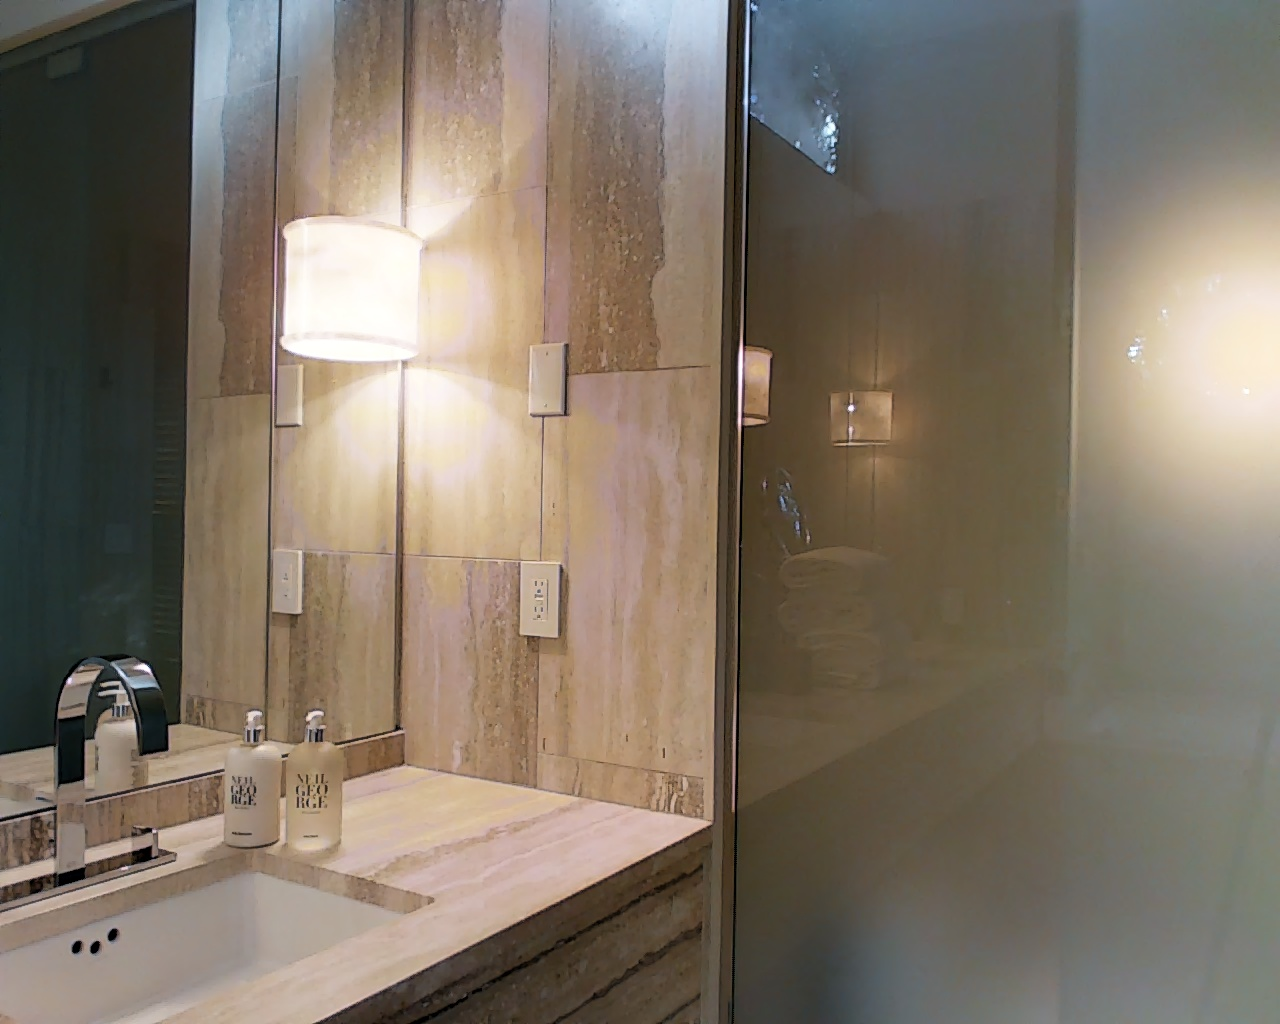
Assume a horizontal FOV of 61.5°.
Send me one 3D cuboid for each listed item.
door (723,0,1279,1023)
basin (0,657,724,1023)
[{"bbox_3d":[0.760,0.040,1.280,1.410,2.370,0.070,1,0,31],"label":"door"},{"bbox_3d":[-0.770,0.430,0.740,0.620,0.340,2.400,1,0,32],"label":"basin"}]
